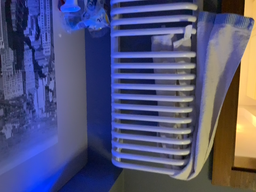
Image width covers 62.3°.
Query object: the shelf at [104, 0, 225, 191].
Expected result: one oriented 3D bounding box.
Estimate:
[{"bbox_3d":[0.140,-0.020,0.930,0.440,0.760,0.220,2,-172,12],"label":"shelf"}]
